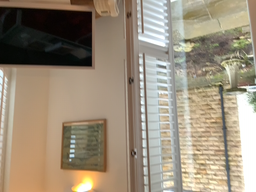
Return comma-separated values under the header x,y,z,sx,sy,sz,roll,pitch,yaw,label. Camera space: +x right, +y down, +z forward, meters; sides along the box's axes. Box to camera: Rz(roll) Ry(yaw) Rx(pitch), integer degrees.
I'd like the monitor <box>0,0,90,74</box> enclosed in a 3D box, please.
x,y,z,sx,sy,sz,roll,pitch,yaw,label
-0.630,-0.390,1.400,0.750,0.490,0.040,0,171,-9,monitor
